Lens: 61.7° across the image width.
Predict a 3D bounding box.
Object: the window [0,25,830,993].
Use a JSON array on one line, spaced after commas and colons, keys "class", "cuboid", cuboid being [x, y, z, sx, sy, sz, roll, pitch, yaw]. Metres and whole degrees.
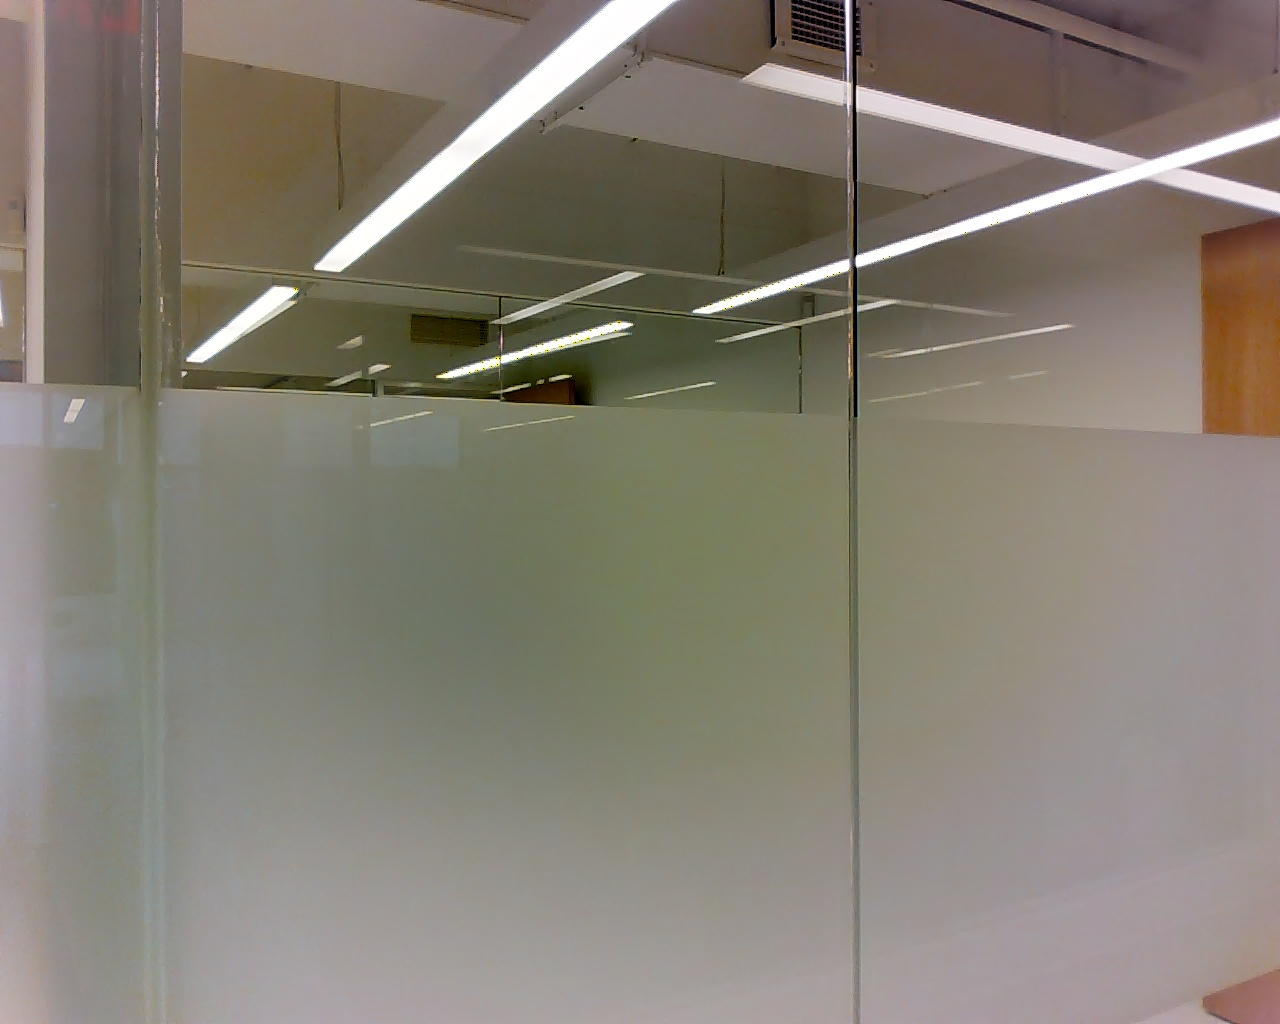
[{"class": "window", "cuboid": [-0.610, -0.010, 4.100, 3.399, 2.931, 0.100, 0, 0, -31]}]
